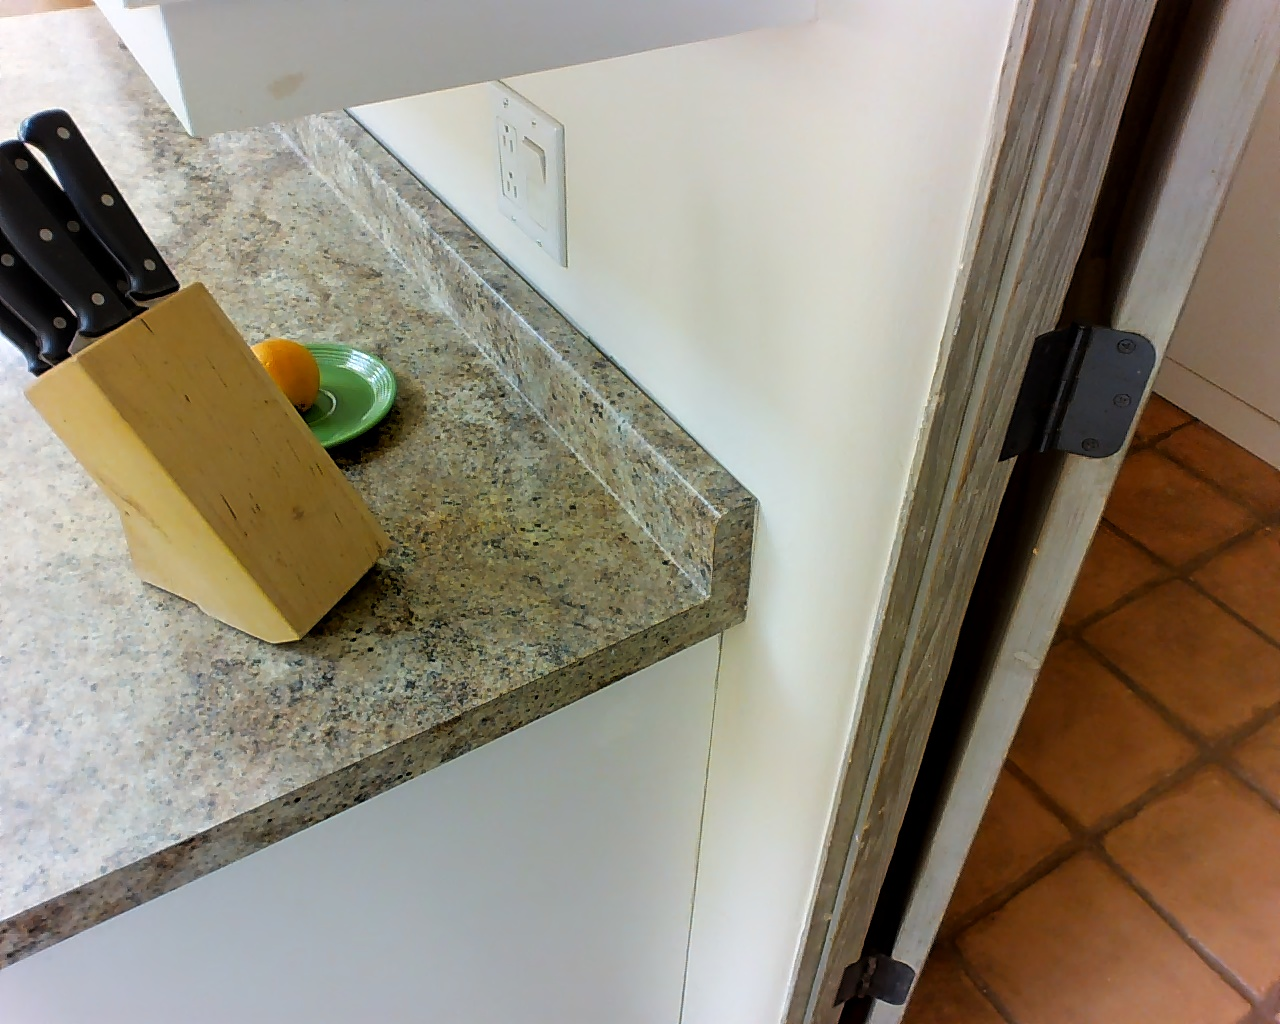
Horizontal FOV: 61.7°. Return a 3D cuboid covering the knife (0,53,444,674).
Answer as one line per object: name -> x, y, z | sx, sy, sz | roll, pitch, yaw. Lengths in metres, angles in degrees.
knife -> -0.290, -0.090, 0.680 | 0.260, 0.310, 0.140 | 17, 44, 18

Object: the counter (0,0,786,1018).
counter -> -0.600, -0.300, 1.120 | 0.650, 0.150, 1.600 | -21, 46, -23
